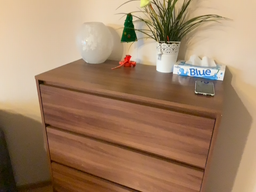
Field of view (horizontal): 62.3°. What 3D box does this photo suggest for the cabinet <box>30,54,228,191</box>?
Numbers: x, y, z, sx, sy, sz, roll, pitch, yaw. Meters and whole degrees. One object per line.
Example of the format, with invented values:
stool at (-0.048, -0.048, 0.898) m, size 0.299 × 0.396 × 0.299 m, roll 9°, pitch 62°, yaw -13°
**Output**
cabinet at (0.010, 0.360, 1.220) m, size 0.830 × 1.020 × 0.460 m, roll 12°, pitch 26°, yaw 20°
